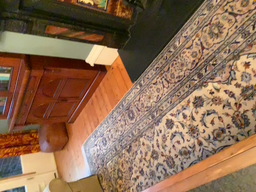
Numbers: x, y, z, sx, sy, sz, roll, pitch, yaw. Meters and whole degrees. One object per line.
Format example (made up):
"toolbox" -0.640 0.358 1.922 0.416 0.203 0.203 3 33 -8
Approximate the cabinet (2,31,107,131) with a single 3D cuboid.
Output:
"cabinet" -0.960 -0.110 2.610 1.190 0.860 0.460 -49 55 40

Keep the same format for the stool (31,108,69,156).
"stool" -1.290 0.580 3.460 0.550 0.350 0.550 -48 56 41
